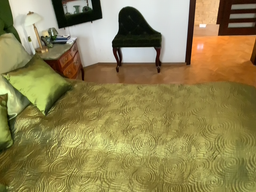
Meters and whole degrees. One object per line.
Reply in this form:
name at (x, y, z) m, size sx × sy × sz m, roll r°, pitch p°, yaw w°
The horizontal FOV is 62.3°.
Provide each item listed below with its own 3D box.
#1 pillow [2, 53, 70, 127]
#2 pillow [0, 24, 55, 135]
pillow at (-0.750, -0.060, 1.740) m, size 0.250 × 0.430 × 0.390 m, roll 32°, pitch 33°, yaw 7°
pillow at (-0.930, -0.160, 1.700) m, size 0.320 × 0.620 × 0.630 m, roll 11°, pitch 35°, yaw 8°
